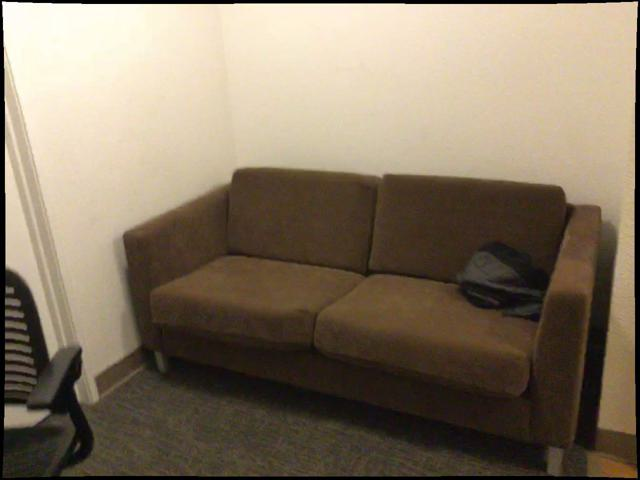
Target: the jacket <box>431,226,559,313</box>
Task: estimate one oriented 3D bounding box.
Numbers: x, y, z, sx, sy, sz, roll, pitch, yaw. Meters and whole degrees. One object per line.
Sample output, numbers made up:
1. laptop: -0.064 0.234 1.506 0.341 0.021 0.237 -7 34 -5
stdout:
1. jacket: 0.609 0.090 2.020 0.380 0.170 0.250 7 25 27
